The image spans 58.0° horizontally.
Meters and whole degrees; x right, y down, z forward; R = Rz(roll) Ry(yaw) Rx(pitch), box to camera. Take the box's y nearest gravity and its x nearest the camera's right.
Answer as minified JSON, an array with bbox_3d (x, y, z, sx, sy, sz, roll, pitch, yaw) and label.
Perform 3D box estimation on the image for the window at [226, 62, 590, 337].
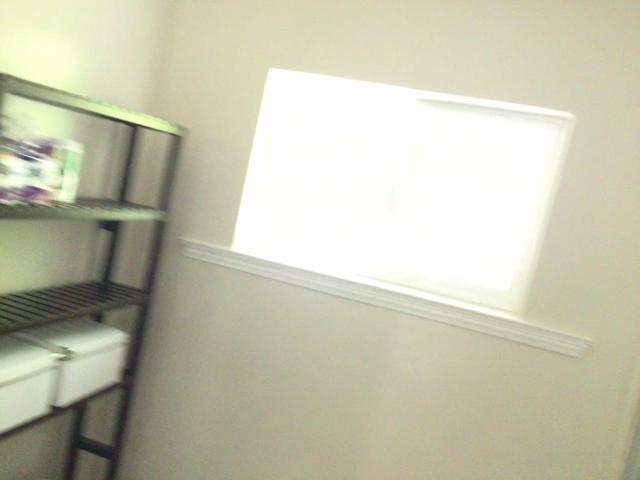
[{"bbox_3d":[0.240,-0.140,1.770,0.930,0.610,0.220,14,3,15],"label":"window"}]

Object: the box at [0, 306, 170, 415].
[{"bbox_3d":[-0.660,0.320,1.650,0.220,0.170,0.460,14,3,15],"label":"box"}]

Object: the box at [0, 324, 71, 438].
[{"bbox_3d":[-0.760,0.320,1.300,0.200,0.180,0.290,14,3,15],"label":"box"}]
